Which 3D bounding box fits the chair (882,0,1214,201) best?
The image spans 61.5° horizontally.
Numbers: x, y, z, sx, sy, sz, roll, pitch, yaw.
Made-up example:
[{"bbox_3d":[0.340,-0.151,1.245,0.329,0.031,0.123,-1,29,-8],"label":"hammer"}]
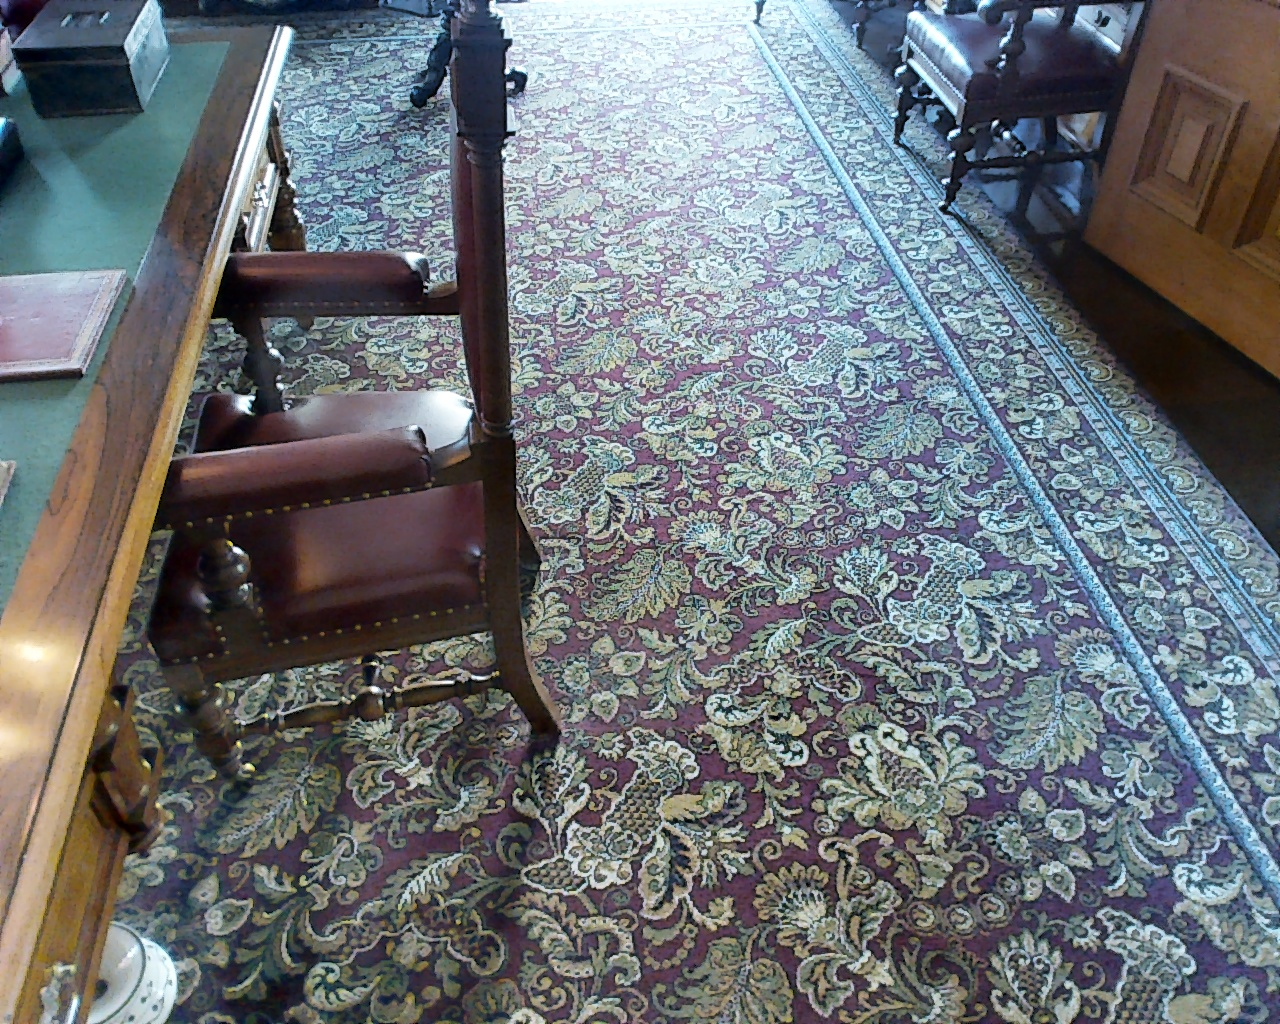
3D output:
[{"bbox_3d":[1.250,-1.710,3.210,0.690,1.310,0.660,-5,43,-5],"label":"chair"}]
